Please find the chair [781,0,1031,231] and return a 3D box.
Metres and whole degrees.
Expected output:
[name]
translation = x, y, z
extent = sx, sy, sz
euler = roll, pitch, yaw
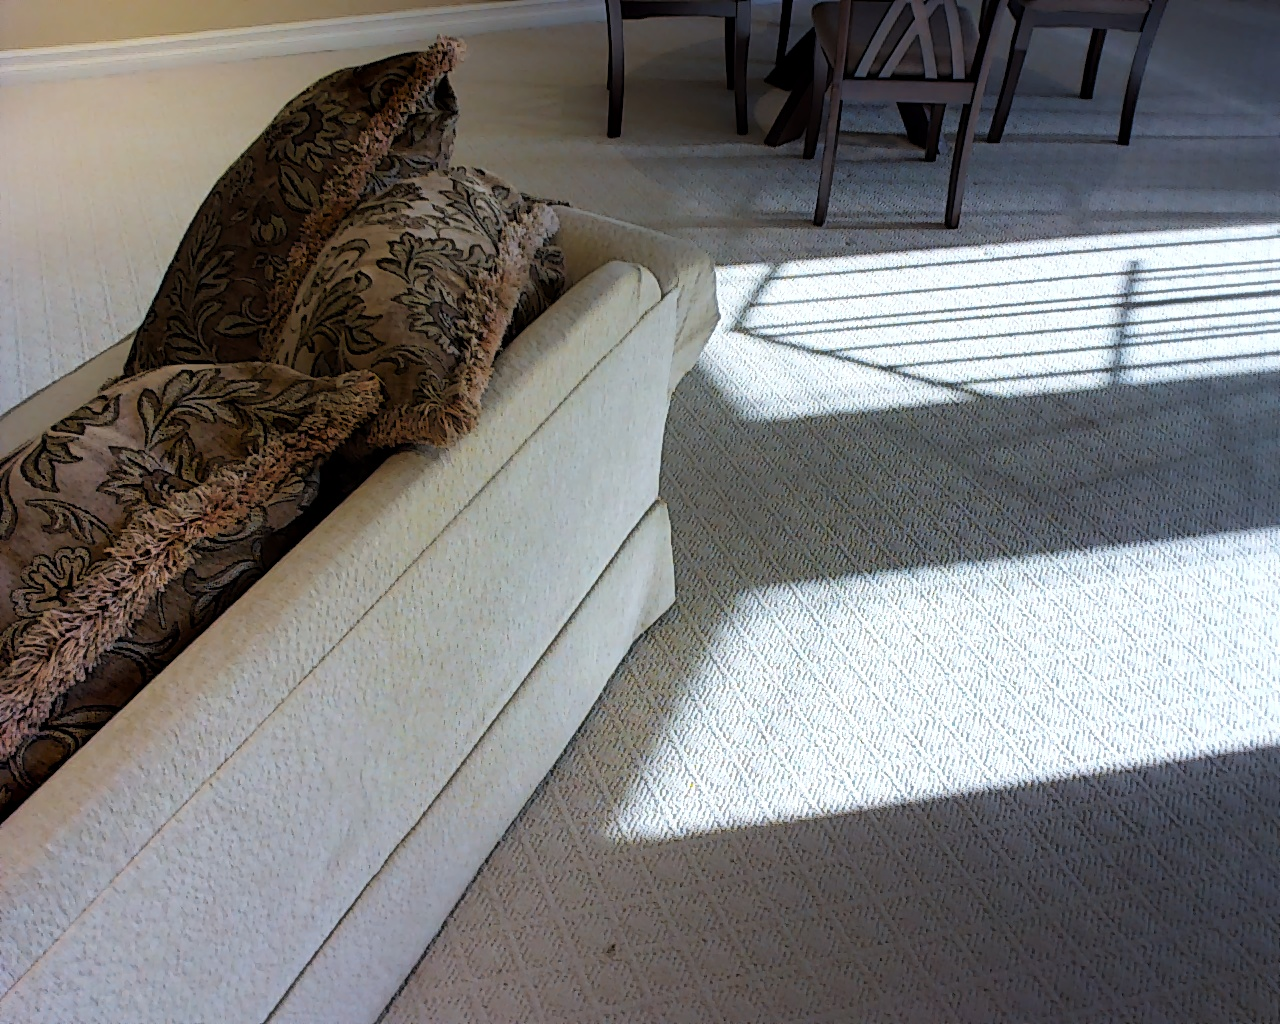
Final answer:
[chair]
translation = 0.710, -1.300, 2.960
extent = 0.530, 0.830, 0.530
euler = 3, 42, 2
